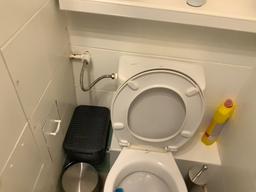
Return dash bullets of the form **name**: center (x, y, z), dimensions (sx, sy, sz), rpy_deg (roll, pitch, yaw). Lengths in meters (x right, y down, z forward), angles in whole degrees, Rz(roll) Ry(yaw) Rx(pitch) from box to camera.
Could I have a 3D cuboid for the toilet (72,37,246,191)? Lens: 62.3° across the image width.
- **toilet**: center (0.070, 0.280, 0.940), dimensions (0.370, 0.790, 0.660), rpy_deg (8, 44, 1)
